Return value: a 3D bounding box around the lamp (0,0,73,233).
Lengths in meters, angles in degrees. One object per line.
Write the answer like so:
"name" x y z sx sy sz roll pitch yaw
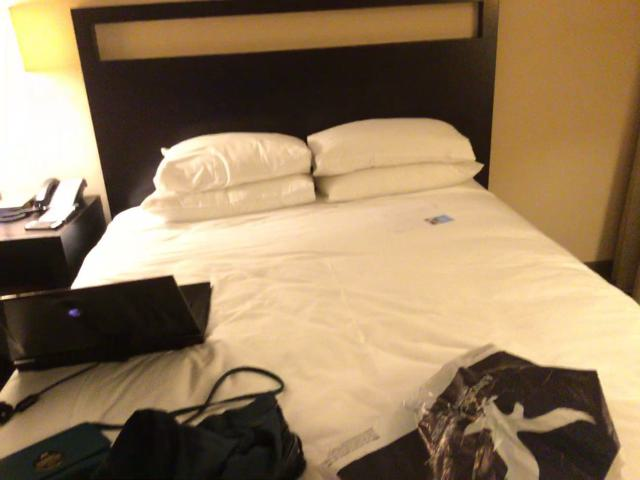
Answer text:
"lamp" -1.320 -0.480 2.280 0.430 0.840 0.350 -1 19 -1

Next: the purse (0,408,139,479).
"purse" -0.440 0.360 0.960 0.220 0.040 0.210 0 19 -2
